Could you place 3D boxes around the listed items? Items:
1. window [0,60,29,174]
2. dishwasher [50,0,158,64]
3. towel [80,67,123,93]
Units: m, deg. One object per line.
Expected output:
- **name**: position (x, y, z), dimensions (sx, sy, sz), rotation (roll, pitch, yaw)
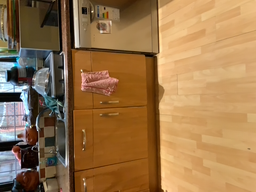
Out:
- **window**: position (-1.510, 0.220, 2.140), dimensions (0.130, 0.900, 1.170), rotation (-3, 89, 61)
- **dishwasher**: position (-0.260, -0.710, 2.160), dimensions (0.650, 0.900, 0.610), rotation (-3, 89, 61)
- **towel**: position (-0.220, -0.130, 1.810), dimensions (0.060, 0.370, 0.210), rotation (-1, 90, 61)
